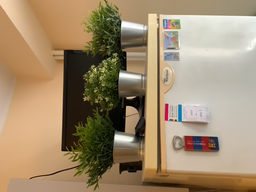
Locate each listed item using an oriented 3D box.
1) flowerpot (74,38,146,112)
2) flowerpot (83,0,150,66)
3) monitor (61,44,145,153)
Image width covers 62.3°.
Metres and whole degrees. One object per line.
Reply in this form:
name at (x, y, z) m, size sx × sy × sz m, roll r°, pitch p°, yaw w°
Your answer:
flowerpot at (-0.050, -0.070, 0.790) m, size 0.200 × 0.220 × 0.190 m, roll 84°, pitch -171°, yaw -64°
flowerpot at (-0.030, -0.240, 0.820) m, size 0.200 × 0.220 × 0.160 m, roll 83°, pitch -170°, yaw -66°
monitor at (-0.110, 0.010, 0.950) m, size 0.060 × 0.350 × 0.460 m, roll -24°, pitch -64°, yaw -85°
